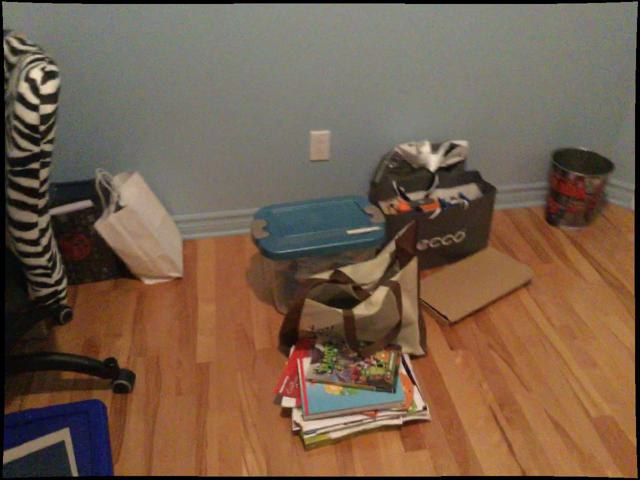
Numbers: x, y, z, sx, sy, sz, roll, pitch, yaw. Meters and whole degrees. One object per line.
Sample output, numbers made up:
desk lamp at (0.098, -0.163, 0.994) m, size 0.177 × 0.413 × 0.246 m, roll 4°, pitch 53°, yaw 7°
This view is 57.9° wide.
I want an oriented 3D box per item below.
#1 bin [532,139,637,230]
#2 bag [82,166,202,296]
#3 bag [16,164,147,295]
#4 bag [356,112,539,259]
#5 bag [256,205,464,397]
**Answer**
bin at (0.979, -0.210, 2.170) m, size 0.240 × 0.250 × 0.210 m, roll -6°, pitch 36°, yaw -6°
bag at (-0.599, -0.030, 2.000) m, size 0.230 × 0.300 × 0.250 m, roll -35°, pitch 35°, yaw 15°
bag at (-0.779, -0.040, 1.950) m, size 0.300 × 0.310 × 0.280 m, roll -6°, pitch 36°, yaw -6°
bag at (0.430, -0.200, 2.090) m, size 0.549 × 0.400 × 0.270 m, roll -6°, pitch 36°, yaw -6°
bag at (0.090, 0.160, 1.640) m, size 0.490 × 0.330 × 0.360 m, roll -6°, pitch 36°, yaw -6°
